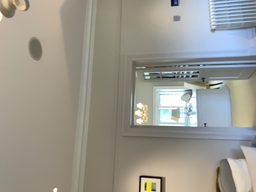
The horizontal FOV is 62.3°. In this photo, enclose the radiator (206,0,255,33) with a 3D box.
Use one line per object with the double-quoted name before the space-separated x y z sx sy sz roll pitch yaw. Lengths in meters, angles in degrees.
"radiator" 1.620 -1.490 3.310 0.150 0.720 0.970 47 -136 -75
